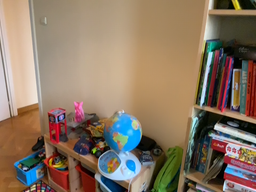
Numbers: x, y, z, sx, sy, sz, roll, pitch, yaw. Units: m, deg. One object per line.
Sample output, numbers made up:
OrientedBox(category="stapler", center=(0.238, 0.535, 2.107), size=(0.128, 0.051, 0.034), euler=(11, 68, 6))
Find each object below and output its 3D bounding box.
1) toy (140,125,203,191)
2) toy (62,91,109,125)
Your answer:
OrientedBox(category="toy", center=(0.320, 0.620, 1.600), size=(0.240, 0.630, 0.480), euler=(16, 23, 31))
OrientedBox(category="toy", center=(-0.370, 0.090, 1.880), size=(0.210, 0.160, 0.360), euler=(16, 22, 31))
